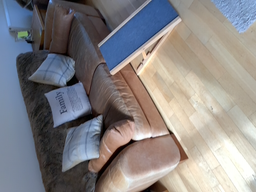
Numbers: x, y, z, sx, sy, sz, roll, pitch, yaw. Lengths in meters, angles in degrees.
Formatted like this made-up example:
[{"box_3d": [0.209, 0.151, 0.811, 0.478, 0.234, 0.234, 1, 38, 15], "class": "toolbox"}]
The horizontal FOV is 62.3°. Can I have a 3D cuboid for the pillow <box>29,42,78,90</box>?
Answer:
[{"box_3d": [-0.810, -0.330, 2.350, 0.190, 0.440, 0.440, 121, 151, -41], "class": "pillow"}]

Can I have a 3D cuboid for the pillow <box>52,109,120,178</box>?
[{"box_3d": [-0.380, 0.400, 1.850, 0.390, 0.390, 0.370, 61, 138, 29], "class": "pillow"}]

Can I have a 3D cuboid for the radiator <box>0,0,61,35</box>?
[{"box_3d": [-1.640, -1.410, 3.480, 0.120, 0.810, 0.970, -55, 52, 42], "class": "radiator"}]

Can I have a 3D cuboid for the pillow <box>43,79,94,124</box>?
[{"box_3d": [-0.600, 0.040, 2.120, 0.390, 0.360, 0.170, 61, 138, 29], "class": "pillow"}]

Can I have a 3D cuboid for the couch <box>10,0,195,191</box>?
[{"box_3d": [-0.520, -0.010, 2.170, 1.100, 0.880, 2.090, -56, 52, 41], "class": "couch"}]
